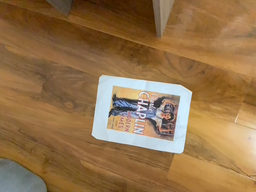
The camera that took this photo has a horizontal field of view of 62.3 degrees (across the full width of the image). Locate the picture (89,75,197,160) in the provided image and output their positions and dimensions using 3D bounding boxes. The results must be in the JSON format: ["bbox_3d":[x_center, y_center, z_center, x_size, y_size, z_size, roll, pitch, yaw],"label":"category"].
[{"bbox_3d":[0.040,0.060,0.650,0.300,0.040,0.220,6,94,8],"label":"picture"}]
